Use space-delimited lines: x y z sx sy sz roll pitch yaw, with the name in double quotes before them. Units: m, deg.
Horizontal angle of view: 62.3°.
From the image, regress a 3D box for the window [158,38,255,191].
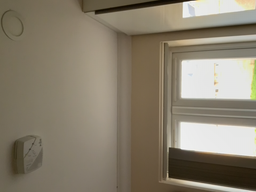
"window" 1.330 0.180 1.570 0.180 2.160 1.240 12 -100 -67
